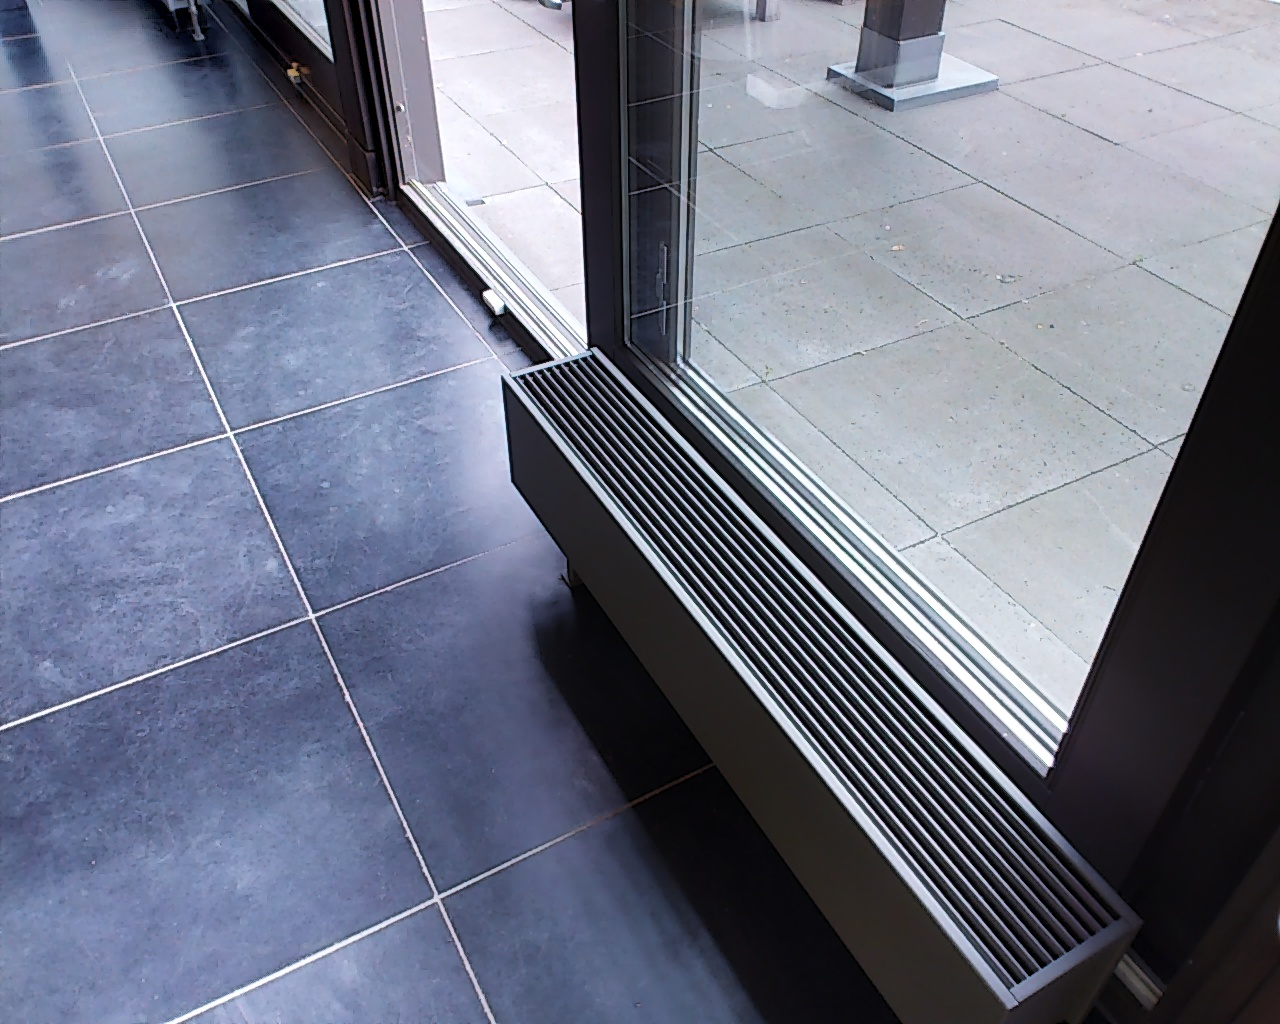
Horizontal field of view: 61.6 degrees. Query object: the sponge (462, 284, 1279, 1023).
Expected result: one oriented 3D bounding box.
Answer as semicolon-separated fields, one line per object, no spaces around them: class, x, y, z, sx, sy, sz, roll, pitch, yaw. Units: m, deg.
sponge;0.180;0.180;1.530;0.360;0.390;1.310;-20;45;-21
